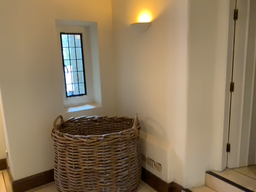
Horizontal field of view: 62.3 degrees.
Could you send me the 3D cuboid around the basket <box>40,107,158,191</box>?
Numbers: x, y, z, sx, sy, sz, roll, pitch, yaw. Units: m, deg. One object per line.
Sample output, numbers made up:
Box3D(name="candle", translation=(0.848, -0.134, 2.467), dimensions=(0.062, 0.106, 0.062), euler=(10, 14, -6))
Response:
Box3D(name="basket", translation=(-0.350, 0.720, 2.660), dimensions=(1.110, 0.830, 0.920), euler=(-9, 14, -37))
